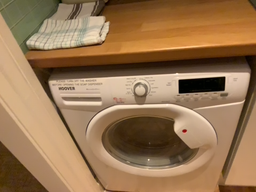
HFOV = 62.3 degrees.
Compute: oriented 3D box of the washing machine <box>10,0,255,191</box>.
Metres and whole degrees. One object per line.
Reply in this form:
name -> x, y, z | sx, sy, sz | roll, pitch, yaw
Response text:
washing machine -> 0.100, 0.020, 1.060 | 0.640, 0.930, 0.650 | -2, 44, 11
